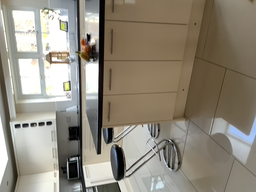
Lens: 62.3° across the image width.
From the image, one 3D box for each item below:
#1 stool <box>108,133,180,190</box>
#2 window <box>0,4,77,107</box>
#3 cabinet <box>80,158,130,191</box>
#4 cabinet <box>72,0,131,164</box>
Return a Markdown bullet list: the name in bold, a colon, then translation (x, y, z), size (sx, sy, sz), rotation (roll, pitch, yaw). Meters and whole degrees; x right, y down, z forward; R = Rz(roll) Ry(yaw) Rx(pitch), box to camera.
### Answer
- **stool**: translation (0.160, 0.710, 2.370), size (0.360, 0.700, 0.370), rotation (-132, 41, -63)
- **window**: translation (-1.660, -0.740, 4.170), size (0.230, 1.200, 1.880), rotation (-130, 40, -62)
- **cabinet**: translation (-0.490, 1.750, 4.300), size (0.590, 0.880, 0.580), rotation (-129, 39, -61)
- **cabinet**: translation (-0.540, -0.500, 4.020), size (0.600, 0.880, 3.780), rotation (-129, 39, -61)
